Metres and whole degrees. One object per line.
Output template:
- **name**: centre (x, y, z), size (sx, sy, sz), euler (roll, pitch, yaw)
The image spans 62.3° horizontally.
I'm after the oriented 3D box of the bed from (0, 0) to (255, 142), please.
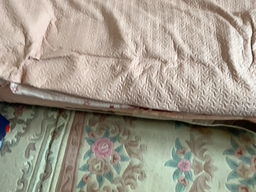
- **bed**: centre (0.030, -0.480, 1.410), size (2.040, 0.430, 1.330), euler (5, 63, 1)
